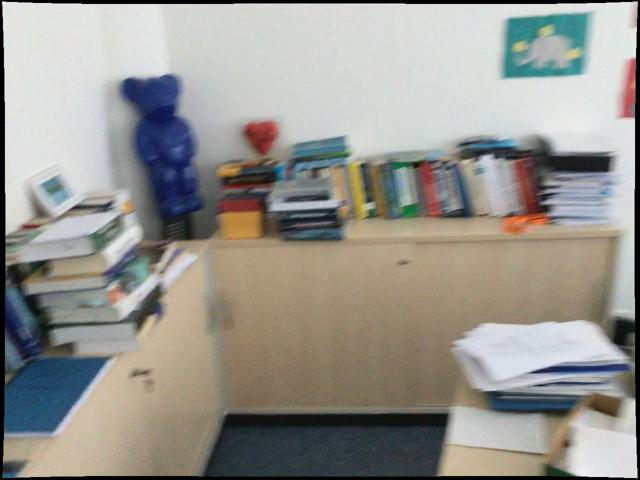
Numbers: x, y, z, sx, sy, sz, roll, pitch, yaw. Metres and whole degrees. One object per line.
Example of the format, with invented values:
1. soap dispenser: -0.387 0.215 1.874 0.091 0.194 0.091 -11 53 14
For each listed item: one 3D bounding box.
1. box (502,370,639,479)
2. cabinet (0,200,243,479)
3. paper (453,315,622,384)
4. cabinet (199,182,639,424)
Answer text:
1. box: 0.609 0.440 1.170 0.320 0.090 0.370 17 29 42
2. cabinet: -0.669 0.591 1.700 0.450 0.961 1.640 -1 21 6
3. paper: 0.529 0.270 1.460 0.350 0.050 0.240 -1 21 6
4. cabinet: 0.380 0.270 2.410 1.598 0.921 0.330 -1 21 6
